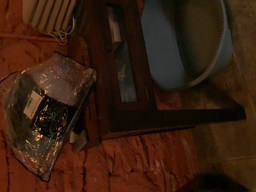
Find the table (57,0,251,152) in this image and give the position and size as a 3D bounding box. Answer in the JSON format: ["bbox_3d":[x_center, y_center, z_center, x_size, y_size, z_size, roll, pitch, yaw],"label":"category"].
[{"bbox_3d":[0.060,-0.400,1.310,0.590,0.810,1.320,-29,66,58],"label":"table"}]
